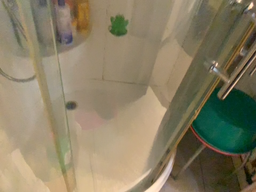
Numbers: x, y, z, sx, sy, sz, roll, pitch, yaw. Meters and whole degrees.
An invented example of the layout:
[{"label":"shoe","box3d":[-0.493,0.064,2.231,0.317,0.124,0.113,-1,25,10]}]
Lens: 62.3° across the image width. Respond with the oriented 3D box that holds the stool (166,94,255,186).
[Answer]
[{"label":"stool","box3d":[0.460,0.280,1.290,0.340,0.410,0.350,9,49,-4]}]
